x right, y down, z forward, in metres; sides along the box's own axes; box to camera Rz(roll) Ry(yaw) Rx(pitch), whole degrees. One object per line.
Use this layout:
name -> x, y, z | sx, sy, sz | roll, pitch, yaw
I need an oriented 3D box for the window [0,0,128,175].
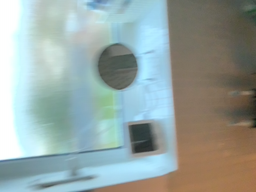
window -> -0.420, -0.350, 0.680 | 0.070, 0.810, 1.160 | 165, 102, -67
